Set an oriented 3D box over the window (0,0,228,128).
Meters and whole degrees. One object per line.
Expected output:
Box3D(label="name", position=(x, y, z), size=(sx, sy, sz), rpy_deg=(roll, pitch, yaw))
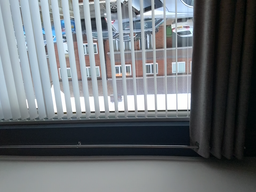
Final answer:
Box3D(label="window", position=(-0.330, -0.370, 1.580), size=(1.970, 1.240, 0.070), rpy_deg=(-1, -166, 10))
